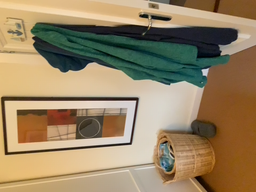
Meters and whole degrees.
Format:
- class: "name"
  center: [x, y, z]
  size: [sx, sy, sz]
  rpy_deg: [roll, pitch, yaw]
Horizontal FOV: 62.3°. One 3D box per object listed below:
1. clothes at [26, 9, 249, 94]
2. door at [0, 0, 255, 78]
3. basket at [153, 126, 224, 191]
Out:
- class: "clothes"
  center: [0.050, -0.200, 1.470]
  size: [0.670, 1.320, 0.270]
  rpy_deg: [158, 110, -67]
- class: "door"
  center: [-0.050, -0.350, 1.400]
  size: [1.000, 2.020, 0.190]
  rpy_deg: [161, 108, -67]
- class: "basket"
  center: [0.570, 0.590, 2.100]
  size: [0.400, 0.460, 0.410]
  rpy_deg: [-136, 50, -61]
